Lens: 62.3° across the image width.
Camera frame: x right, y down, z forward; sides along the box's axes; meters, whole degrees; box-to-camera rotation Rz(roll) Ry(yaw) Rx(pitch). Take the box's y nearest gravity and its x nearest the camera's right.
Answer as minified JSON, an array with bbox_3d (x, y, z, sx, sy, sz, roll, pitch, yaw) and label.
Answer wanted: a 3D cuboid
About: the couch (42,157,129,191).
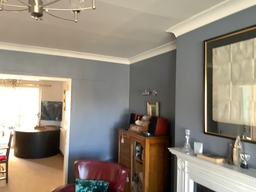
[{"bbox_3d":[-0.460,1.280,2.520,0.750,0.830,0.770,1,-1,17],"label":"couch"}]
